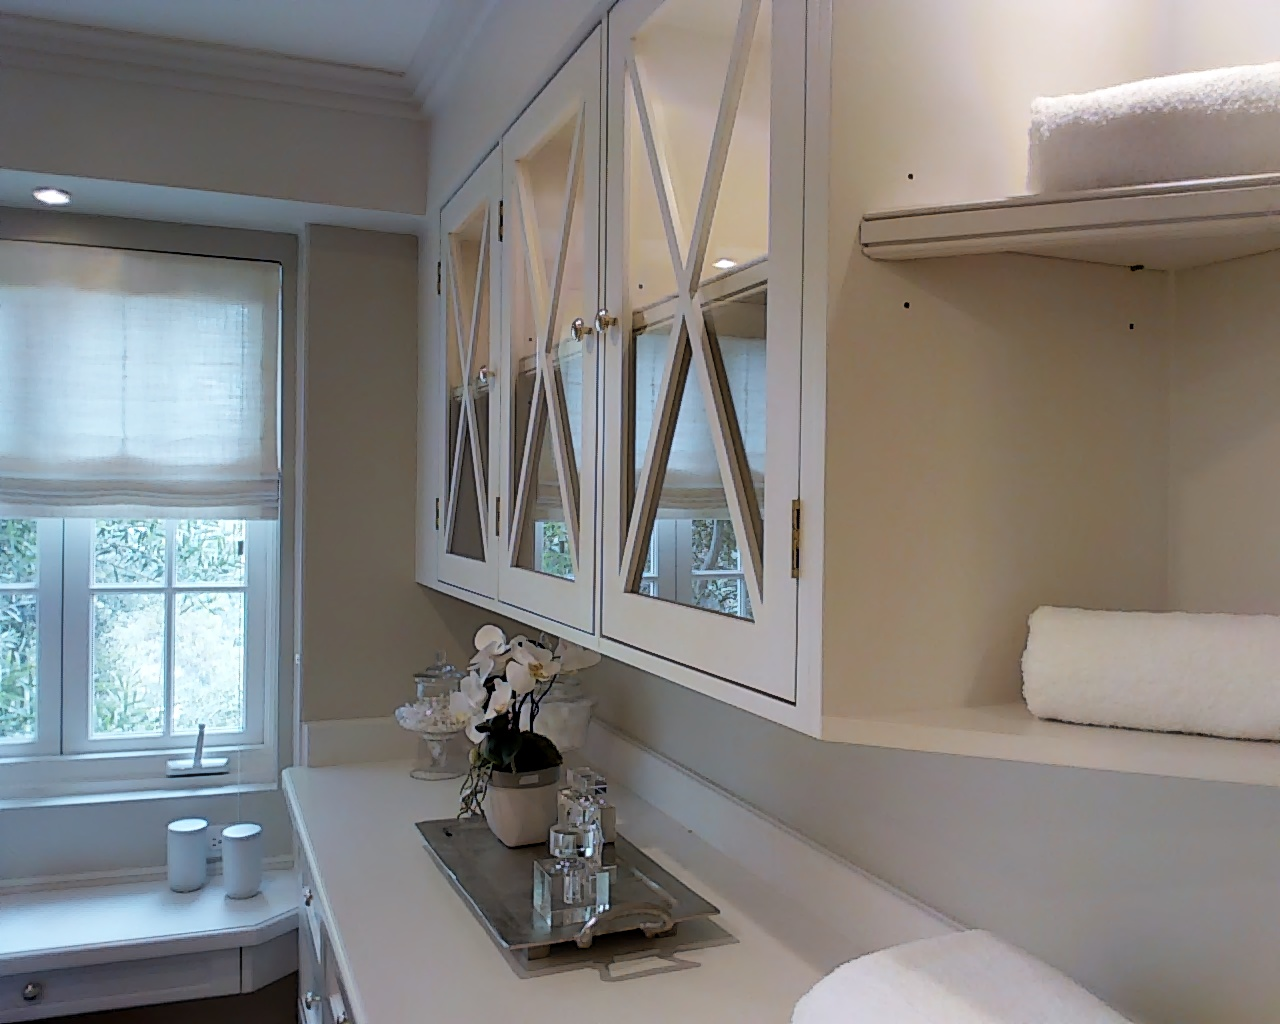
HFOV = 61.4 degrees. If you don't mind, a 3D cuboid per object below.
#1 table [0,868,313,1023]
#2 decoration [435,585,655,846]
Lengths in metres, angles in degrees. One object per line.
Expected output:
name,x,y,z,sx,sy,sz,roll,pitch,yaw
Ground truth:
table,-1.140,0.870,2.080,0.950,0.150,0.340,1,1,-21
decoration,-0.160,0.310,1.750,0.290,0.360,0.240,1,1,-24
